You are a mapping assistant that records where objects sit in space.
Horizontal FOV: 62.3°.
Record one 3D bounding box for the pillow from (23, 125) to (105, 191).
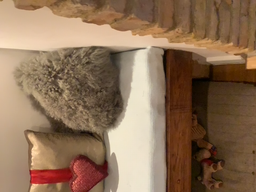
[{"bbox_3d":[-0.310,0.380,1.090,0.190,0.360,0.420,-4,87,34],"label":"pillow"}]
